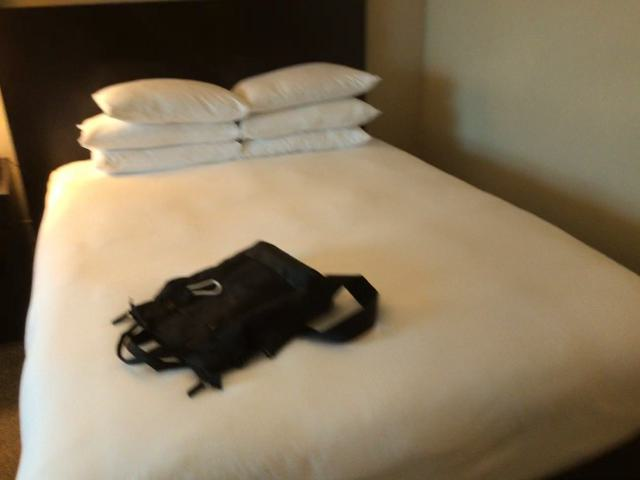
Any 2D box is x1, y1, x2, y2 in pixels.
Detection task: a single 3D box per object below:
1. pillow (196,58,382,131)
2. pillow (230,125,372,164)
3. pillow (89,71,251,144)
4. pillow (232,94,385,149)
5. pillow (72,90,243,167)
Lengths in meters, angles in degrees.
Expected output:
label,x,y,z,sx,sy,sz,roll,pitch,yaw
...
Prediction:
label,x,y,z,sx,sy,sz,roll,pitch,yaw
pillow,-0.140,-0.660,2.550,0.710,0.200,0.410,-11,25,-21
pillow,-0.070,-0.410,2.460,0.610,0.070,0.100,-11,25,-21
pillow,-0.620,-0.560,2.370,0.560,0.180,0.420,-11,25,-21
pillow,-0.040,-0.510,2.460,0.640,0.140,0.140,-11,25,-21
pillow,-0.680,-0.480,2.400,0.610,0.180,0.400,-11,25,-21
